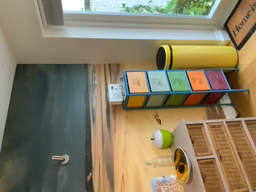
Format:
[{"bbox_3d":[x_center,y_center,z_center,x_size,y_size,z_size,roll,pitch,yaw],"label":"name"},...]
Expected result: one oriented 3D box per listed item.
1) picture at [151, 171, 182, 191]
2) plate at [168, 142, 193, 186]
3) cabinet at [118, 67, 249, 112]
[{"bbox_3d":[0.330,0.780,1.820,0.090,0.220,0.230,106,160,-56],"label":"picture"},{"bbox_3d":[0.430,0.570,1.770,0.260,0.050,0.290,105,160,-56],"label":"plate"},{"bbox_3d":[0.570,-0.070,2.280,0.340,1.290,0.320,106,159,-56],"label":"cabinet"}]
